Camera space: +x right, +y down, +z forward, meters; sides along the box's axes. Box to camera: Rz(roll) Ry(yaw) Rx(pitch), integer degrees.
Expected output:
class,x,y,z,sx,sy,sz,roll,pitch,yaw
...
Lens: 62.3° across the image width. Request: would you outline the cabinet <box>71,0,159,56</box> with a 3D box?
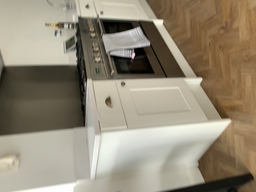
class,x,y,z,sx,sy,sz,roll,pitch,yaw
cabinet,-0.250,-1.040,2.750,0.590,0.910,0.920,105,156,-46
